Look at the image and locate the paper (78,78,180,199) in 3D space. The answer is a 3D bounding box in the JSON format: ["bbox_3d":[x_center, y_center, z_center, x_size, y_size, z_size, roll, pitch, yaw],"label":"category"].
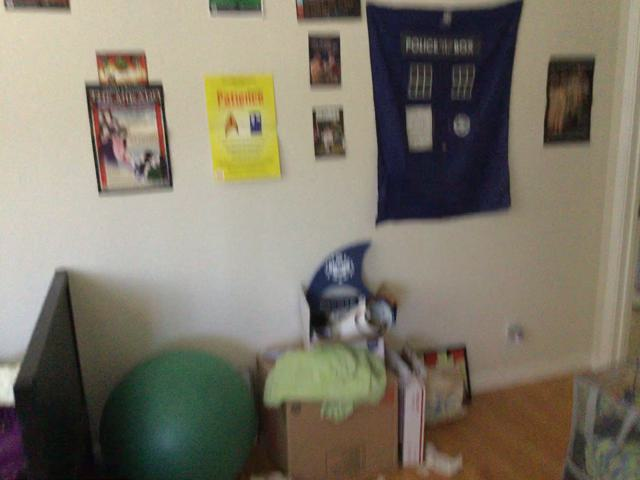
[{"bbox_3d":[-0.730,-0.390,2.230,0.300,0.420,0.080,-11,11,-18],"label":"paper"}]
